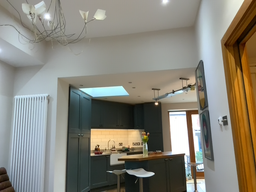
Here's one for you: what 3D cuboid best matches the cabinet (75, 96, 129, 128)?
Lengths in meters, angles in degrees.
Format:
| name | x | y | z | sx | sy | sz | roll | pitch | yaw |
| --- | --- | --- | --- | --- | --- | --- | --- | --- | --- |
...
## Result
| name | x | y | z | sx | sy | sz | roll | pitch | yaw |
| --- | --- | --- | --- | --- | --- | --- | --- | --- | --- |
| cabinet | -0.700 | 0.510 | 6.160 | 1.670 | 0.780 | 0.320 | 8 | -15 | -42 |
